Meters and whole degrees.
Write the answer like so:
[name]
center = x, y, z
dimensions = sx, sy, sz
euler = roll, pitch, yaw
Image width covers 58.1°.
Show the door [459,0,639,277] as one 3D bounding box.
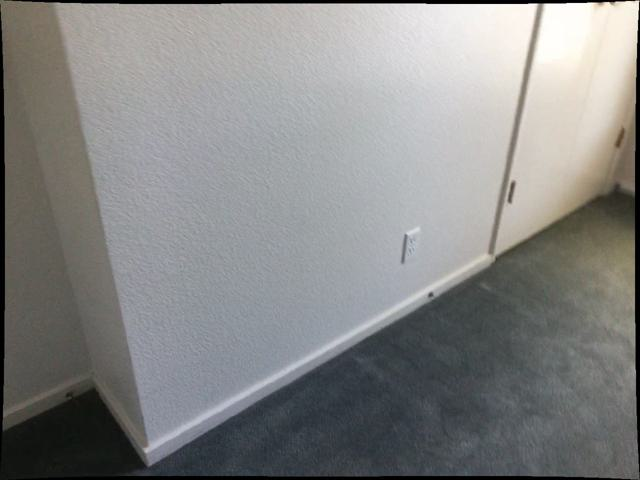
[door]
center = 1.048, -0.962, 2.120
dimensions = 1.179, 2.092, 0.100
euler = -25, 40, -33
